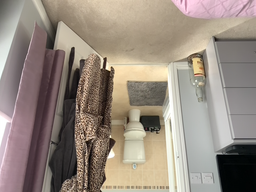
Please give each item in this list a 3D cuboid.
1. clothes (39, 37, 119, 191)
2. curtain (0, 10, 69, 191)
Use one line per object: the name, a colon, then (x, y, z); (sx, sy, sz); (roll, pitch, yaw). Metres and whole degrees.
clothes: (-0.290, 0.350, 1.550); (0.290, 1.420, 0.610); (-4, 156, 10)
curtain: (-0.600, 0.490, 1.090); (0.230, 1.980, 0.500); (0, 156, 0)
